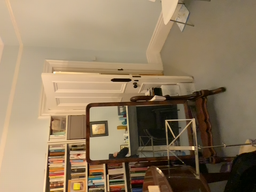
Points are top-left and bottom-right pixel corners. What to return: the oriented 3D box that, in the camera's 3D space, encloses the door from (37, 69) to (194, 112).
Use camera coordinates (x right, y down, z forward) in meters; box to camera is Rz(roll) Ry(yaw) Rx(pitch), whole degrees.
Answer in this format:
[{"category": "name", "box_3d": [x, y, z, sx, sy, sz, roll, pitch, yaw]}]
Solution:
[{"category": "door", "box_3d": [-0.170, -0.040, 3.170, 0.960, 2.080, 0.050, 109, 157, -55]}]
